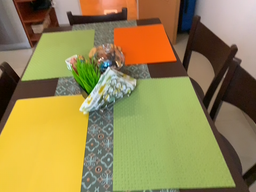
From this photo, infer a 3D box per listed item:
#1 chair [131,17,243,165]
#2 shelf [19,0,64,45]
[{"bbox_3d":[0.270,0.000,1.300,0.420,0.760,0.440,-7,42,-4],"label":"chair"},{"bbox_3d":[-1.080,-1.170,2.630,0.260,0.850,0.570,-4,42,-1],"label":"shelf"}]
